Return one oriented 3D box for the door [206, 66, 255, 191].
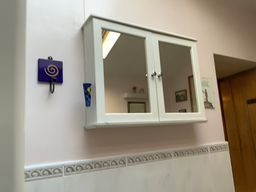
[{"bbox_3d":[1.180,0.710,1.980,0.070,1.910,0.890,-1,-11,-18],"label":"door"}]
